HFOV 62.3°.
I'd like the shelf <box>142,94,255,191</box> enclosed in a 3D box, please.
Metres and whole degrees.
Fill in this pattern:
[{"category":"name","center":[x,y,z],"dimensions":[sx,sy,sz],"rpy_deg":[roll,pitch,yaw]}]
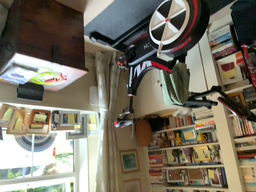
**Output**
[{"category":"shelf","center":[0.820,0.900,2.650],"dimensions":[0.190,1.510,1.440],"rpy_deg":[10,158,-41]}]
